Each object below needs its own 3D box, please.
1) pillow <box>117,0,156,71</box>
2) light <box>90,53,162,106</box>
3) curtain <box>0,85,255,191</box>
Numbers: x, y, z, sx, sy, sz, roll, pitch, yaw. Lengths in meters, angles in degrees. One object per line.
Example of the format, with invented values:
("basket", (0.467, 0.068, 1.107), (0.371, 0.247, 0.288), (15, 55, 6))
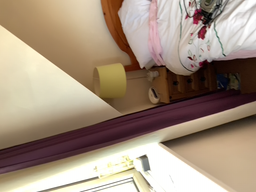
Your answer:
("pillow", (0.070, -0.610, 2.060), (0.390, 0.160, 0.690), (-168, 69, -72))
("light", (-0.050, -0.160, 2.200), (0.480, 0.600, 0.310), (129, 129, -69))
("curtain", (-0.080, 0.300, 1.180), (0.400, 1.870, 0.420), (-162, 63, -72))
